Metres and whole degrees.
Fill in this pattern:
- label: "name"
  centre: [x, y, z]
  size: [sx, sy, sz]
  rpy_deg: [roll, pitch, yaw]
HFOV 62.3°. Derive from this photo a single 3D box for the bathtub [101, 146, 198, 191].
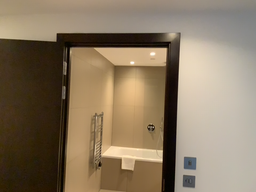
- label: "bathtub"
  centre: [0.390, 1.390, 4.030]
  size: [1.650, 0.610, 0.740]
  rpy_deg: [2, -1, 7]
